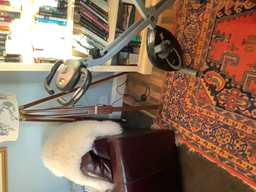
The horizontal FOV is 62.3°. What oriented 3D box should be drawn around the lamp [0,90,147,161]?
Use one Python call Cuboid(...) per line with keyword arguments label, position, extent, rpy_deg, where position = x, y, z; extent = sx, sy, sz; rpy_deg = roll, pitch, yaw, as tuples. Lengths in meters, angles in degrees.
Cuboid(label="lamp", position=(-0.470, 0.180, 1.850), extent=(0.400, 1.330, 0.320), rpy_deg=(20, 109, 49))
